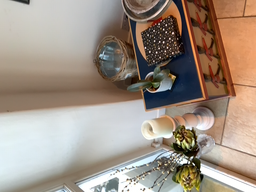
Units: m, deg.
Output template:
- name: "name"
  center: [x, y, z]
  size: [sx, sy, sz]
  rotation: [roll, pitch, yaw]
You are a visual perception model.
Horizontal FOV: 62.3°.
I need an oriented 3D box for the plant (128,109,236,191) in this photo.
- name: "plant"
  center: [0.330, 0.320, 1.230]
  size: [0.350, 0.560, 0.390]
  rotation: [11, 100, 42]
